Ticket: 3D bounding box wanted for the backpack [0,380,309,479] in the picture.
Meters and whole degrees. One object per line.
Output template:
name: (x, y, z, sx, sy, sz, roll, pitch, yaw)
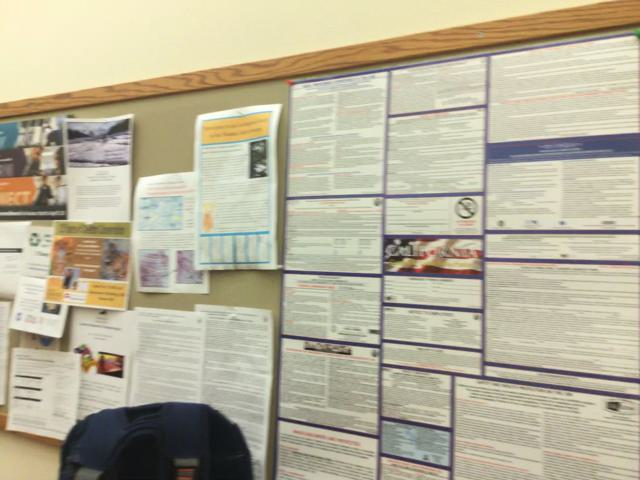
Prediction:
backpack: (-0.260, 0.480, 0.920, 0.400, 0.430, 0.380, 4, -3, -11)
